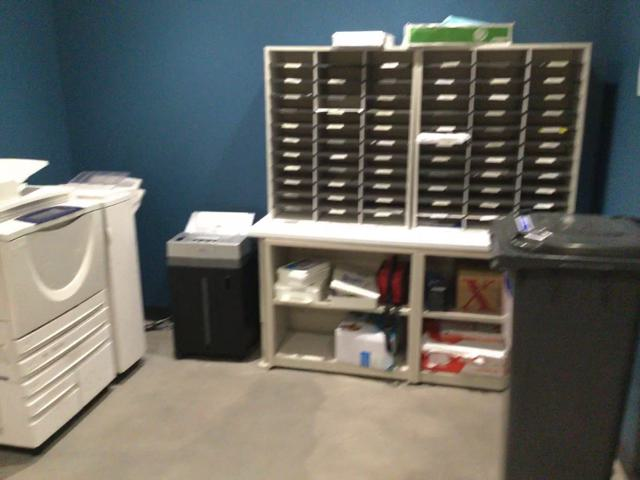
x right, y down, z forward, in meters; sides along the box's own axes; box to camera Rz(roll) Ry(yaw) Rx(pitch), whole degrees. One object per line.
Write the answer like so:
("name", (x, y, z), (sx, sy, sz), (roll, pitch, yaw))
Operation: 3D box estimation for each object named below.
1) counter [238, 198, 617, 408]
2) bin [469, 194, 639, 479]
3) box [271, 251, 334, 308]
("counter", (0.470, 0.260, 2.840), (1.620, 0.820, 0.470), (2, 16, 11))
("bin", (0.810, 0.410, 1.910), (0.540, 1.030, 0.520), (2, 16, 11))
("box", (-0.080, 0.190, 2.920), (0.240, 0.170, 0.350), (2, 16, 11))
